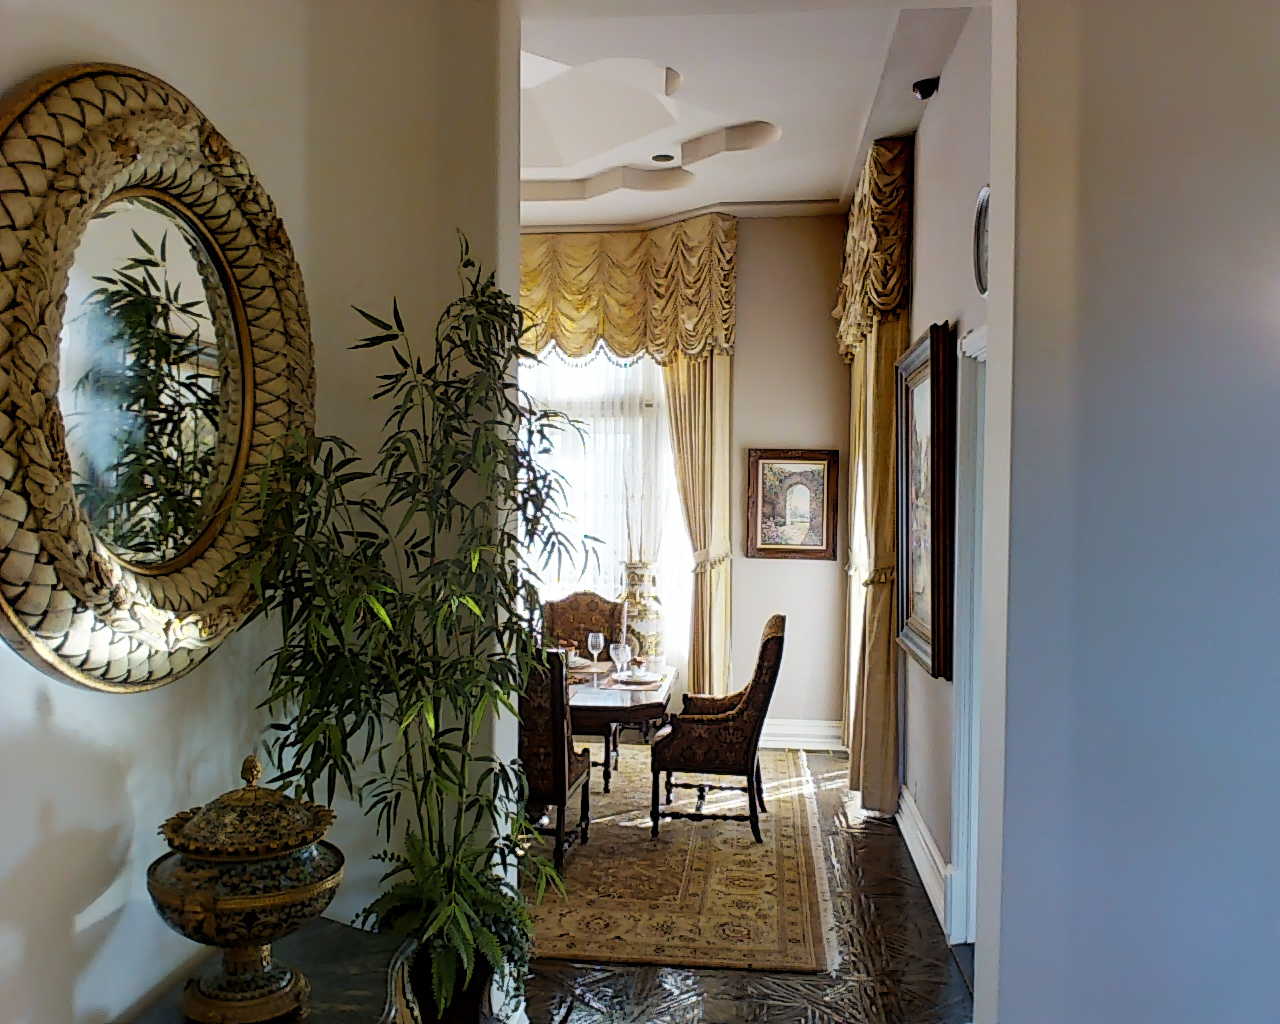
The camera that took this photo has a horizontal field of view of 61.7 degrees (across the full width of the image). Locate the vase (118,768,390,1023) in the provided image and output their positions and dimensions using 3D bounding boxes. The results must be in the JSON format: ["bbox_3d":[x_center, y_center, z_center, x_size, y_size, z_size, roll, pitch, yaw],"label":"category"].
[{"bbox_3d":[-0.750,0.800,2.160,0.340,0.430,0.500,1,1,4],"label":"vase"}]
